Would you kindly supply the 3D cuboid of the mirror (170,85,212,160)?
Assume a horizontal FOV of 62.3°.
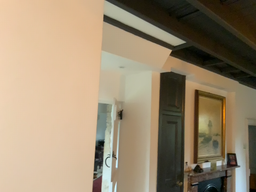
[{"bbox_3d":[1.000,0.410,3.280,0.930,1.050,0.090,7,-8,-37],"label":"mirror"}]
